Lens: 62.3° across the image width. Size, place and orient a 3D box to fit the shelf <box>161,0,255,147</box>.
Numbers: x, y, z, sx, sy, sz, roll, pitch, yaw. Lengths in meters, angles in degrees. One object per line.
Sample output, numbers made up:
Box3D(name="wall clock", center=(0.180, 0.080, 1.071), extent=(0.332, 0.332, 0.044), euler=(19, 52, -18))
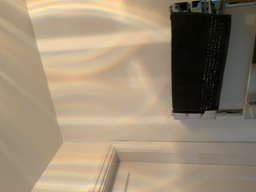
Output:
Box3D(name="shelf", center=(0.880, -0.120, 0.970), extent=(0.160, 1.410, 0.750), euler=(-69, -25, -65))
